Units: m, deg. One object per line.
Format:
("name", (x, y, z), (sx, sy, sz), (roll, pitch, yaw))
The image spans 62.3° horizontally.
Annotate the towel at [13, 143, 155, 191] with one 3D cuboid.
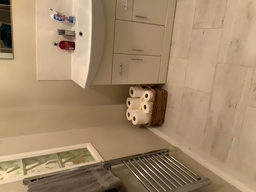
("towel", (-0.250, 0.470, 1.090), (0.520, 0.580, 0.150), (30, 118, 57))
